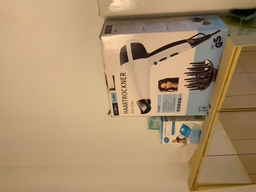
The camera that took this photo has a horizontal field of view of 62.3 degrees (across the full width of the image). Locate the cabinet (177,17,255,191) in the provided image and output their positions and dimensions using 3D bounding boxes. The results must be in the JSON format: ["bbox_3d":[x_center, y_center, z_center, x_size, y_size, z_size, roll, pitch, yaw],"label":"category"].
[{"bbox_3d":[0.410,0.100,0.690,0.150,0.410,0.670,-89,-4,-47],"label":"cabinet"}]
